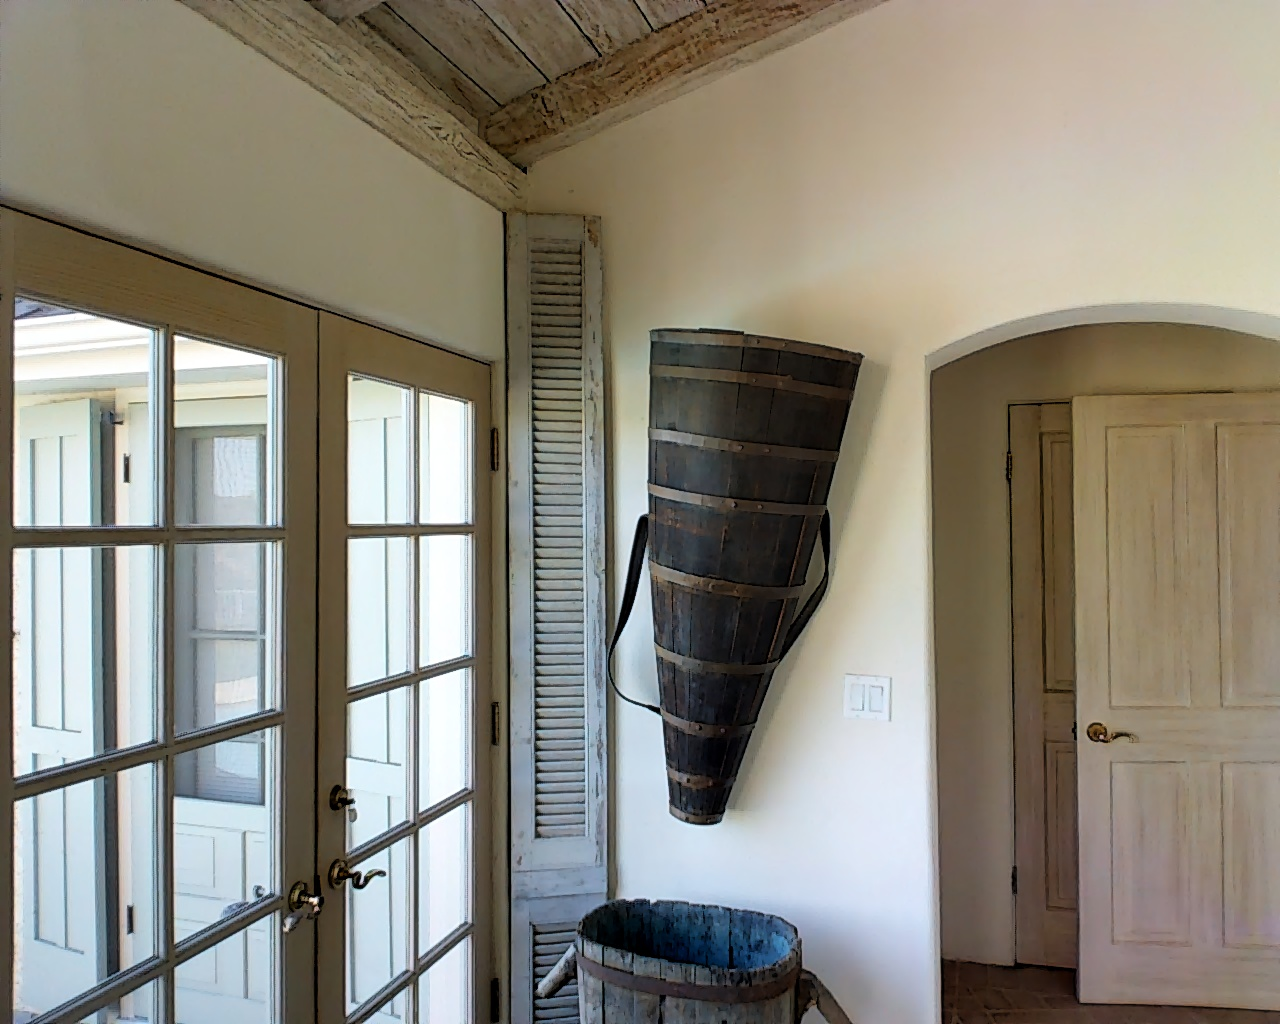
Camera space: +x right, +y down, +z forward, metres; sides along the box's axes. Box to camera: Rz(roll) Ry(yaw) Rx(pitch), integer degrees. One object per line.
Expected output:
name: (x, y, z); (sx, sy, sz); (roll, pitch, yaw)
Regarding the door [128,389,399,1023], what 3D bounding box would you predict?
door: (-1.260, 0.650, 3.570); (0.890, 2.051, 0.240); (-1, 0, 20)
